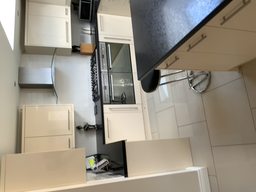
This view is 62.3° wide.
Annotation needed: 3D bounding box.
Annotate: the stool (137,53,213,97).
[{"bbox_3d":[0.510,-0.220,2.380,0.350,0.700,0.350,134,132,-63],"label":"stool"}]
